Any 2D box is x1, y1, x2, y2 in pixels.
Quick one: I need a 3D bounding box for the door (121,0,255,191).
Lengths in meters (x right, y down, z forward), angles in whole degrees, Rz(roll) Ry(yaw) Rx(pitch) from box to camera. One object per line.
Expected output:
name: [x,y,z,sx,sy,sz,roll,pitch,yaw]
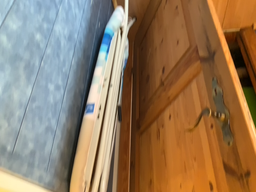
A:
door: [0.170,0.150,0.940,0.090,2.150,0.950,12,146,-15]
